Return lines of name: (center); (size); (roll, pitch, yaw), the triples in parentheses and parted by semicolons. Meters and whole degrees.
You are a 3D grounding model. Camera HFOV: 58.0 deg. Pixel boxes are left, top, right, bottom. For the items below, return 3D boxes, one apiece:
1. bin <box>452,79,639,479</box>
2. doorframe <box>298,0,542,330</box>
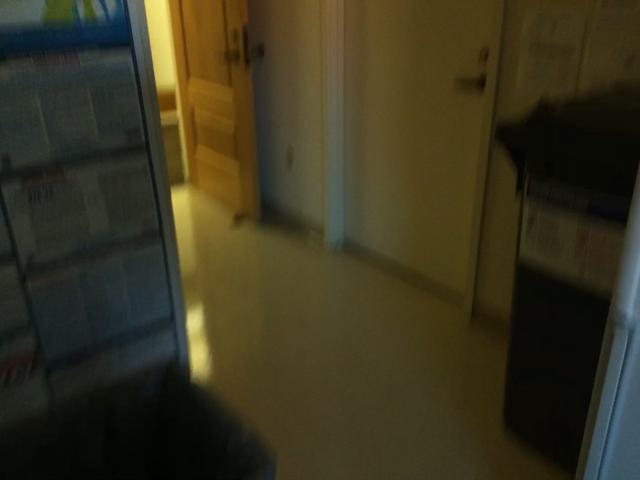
bin: (0.740, 0.130, 1.620); (0.450, 1.020, 0.480); (-20, 31, -32)
doorframe: (0.330, -0.750, 2.360); (0.240, 2.000, 1.080); (-20, 31, -32)
